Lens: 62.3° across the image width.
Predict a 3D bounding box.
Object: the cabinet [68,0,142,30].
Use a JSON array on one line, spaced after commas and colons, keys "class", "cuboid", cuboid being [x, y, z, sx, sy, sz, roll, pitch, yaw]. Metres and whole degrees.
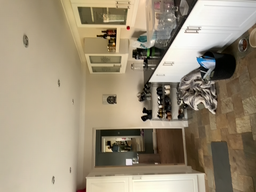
[{"class": "cabinet", "cuboid": [-0.260, -1.190, 2.400, 1.090, 0.800, 0.310, 113, 156, -76]}]
